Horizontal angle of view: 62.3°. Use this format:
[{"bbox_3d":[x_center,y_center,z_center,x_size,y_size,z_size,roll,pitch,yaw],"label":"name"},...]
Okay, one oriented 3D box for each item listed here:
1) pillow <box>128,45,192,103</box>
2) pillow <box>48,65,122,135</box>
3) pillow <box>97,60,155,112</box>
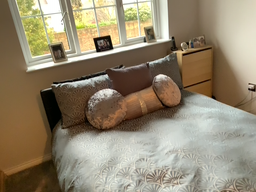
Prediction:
[{"bbox_3d":[0.350,-0.250,2.270,0.550,0.340,0.260,-34,28,-15],"label":"pillow"},{"bbox_3d":[-0.390,0.030,1.990,0.530,0.420,0.180,-30,27,-13],"label":"pillow"},{"bbox_3d":[-0.010,-0.100,1.930,0.460,0.310,0.130,-22,25,-19],"label":"pillow"}]
